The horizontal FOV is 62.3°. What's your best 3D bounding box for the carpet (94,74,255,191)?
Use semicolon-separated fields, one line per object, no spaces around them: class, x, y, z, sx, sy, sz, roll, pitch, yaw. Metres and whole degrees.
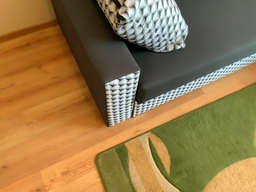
carpet;0.650;0.360;1.210;1.470;0.020;0.860;-20;67;-12
